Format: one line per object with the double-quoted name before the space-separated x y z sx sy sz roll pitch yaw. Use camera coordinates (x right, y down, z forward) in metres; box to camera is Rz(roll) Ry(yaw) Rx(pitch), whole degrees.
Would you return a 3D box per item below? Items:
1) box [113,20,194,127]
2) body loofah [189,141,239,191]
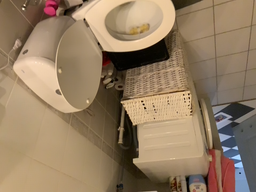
"box" 0.190 -0.170 1.640 0.490 0.660 0.350 -11 143 16
"body loofah" 0.710 0.860 1.620 0.290 0.940 0.280 -13 143 18
